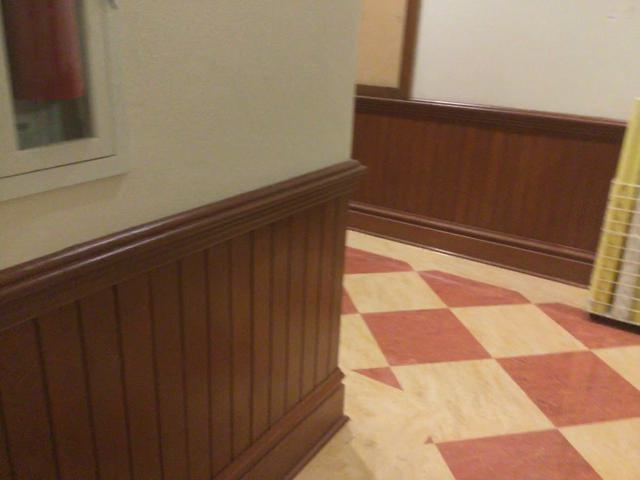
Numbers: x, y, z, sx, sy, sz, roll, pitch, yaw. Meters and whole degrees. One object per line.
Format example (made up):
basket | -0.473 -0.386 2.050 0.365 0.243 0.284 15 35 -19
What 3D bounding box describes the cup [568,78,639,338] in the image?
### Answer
cup | 1.530 -0.160 2.720 0.490 1.150 0.440 10 20 32
